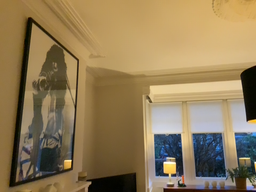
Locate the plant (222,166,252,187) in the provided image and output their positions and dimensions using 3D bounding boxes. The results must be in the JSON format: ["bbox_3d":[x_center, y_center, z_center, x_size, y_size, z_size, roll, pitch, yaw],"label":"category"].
[{"bbox_3d":[2.200,1.620,4.310,0.430,0.340,0.340,-3,-12,12],"label":"plant"}]
